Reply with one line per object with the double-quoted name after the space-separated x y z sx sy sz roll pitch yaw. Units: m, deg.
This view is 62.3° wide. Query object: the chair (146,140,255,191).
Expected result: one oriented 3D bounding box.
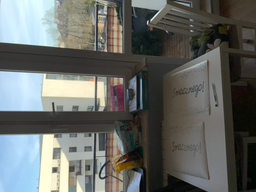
0.660 0.600 1.540 0.470 0.920 0.520 139 131 -68 "chair"
